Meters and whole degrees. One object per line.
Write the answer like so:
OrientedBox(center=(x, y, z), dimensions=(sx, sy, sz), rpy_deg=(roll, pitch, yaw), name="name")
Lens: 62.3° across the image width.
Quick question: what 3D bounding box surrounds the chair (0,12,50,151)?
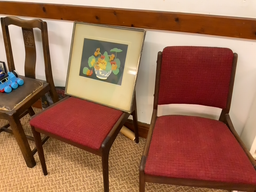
OrientedBox(center=(-0.960, -0.120, 1.510), dimensions=(0.360, 0.800, 0.520), rpy_deg=(13, 36, 19), name="chair")
